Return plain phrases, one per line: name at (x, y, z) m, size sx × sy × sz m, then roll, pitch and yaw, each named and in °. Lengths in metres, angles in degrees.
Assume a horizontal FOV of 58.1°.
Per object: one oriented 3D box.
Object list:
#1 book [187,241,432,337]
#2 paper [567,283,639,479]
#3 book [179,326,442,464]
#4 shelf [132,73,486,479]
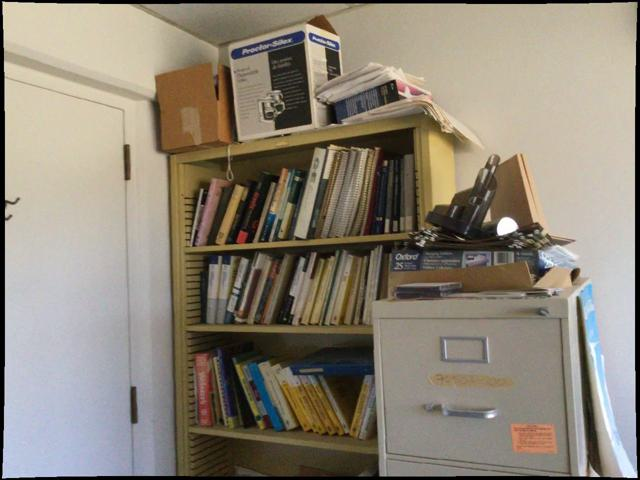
book at (-0.060, 0.170, 1.950) m, size 0.838 × 0.281 × 0.160 m, roll -4°, pitch -2°, yaw 26°
paper at (0.718, 0.441, 1.430) m, size 0.130 × 0.632 × 0.580 m, roll -4°, pitch -2°, yaw 26°
book at (-0.050, 0.491, 1.970) m, size 0.858 × 0.361 × 0.260 m, roll -4°, pitch -2°, yaw 26°
shelf at (-0.030, 0.592, 1.900) m, size 1.028 × 1.995 × 0.460 m, roll -4°, pitch -2°, yaw 26°
